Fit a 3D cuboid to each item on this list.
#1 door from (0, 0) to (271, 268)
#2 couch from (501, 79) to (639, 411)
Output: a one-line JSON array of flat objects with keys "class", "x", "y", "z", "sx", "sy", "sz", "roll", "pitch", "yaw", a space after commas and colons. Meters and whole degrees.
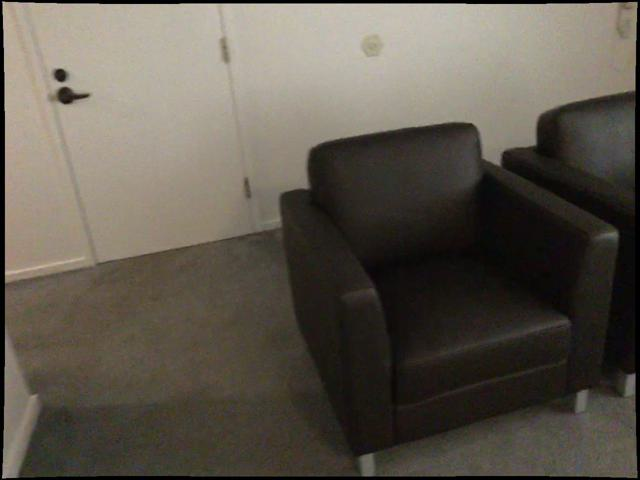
[{"class": "door", "x": -0.987, "y": -1.073, "z": 2.910, "sx": 1.068, "sy": 2.505, "sz": 0.120, "roll": -13, "pitch": 28, "yaw": -8}, {"class": "couch", "x": 1.247, "y": -0.070, "z": 2.100, "sx": 0.818, "sy": 0.842, "sz": 0.810, "roll": -12, "pitch": 26, "yaw": -9}]
